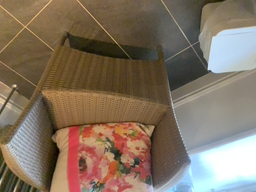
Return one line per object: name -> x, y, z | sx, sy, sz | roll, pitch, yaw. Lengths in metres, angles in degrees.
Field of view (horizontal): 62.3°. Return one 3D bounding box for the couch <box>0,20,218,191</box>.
couch -> -0.080, 0.190, 0.970 | 0.550, 0.880, 0.640 | 6, 135, -4
